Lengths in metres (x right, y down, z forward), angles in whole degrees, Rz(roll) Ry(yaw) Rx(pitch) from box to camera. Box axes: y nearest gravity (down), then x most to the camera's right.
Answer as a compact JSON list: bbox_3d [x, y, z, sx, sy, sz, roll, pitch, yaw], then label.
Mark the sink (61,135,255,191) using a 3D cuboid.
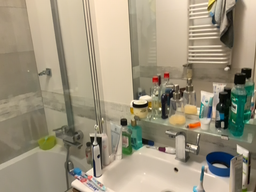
[{"bbox_3d":[0.120,0.370,0.880,0.650,0.110,0.450,8,19,35],"label":"sink"}]
